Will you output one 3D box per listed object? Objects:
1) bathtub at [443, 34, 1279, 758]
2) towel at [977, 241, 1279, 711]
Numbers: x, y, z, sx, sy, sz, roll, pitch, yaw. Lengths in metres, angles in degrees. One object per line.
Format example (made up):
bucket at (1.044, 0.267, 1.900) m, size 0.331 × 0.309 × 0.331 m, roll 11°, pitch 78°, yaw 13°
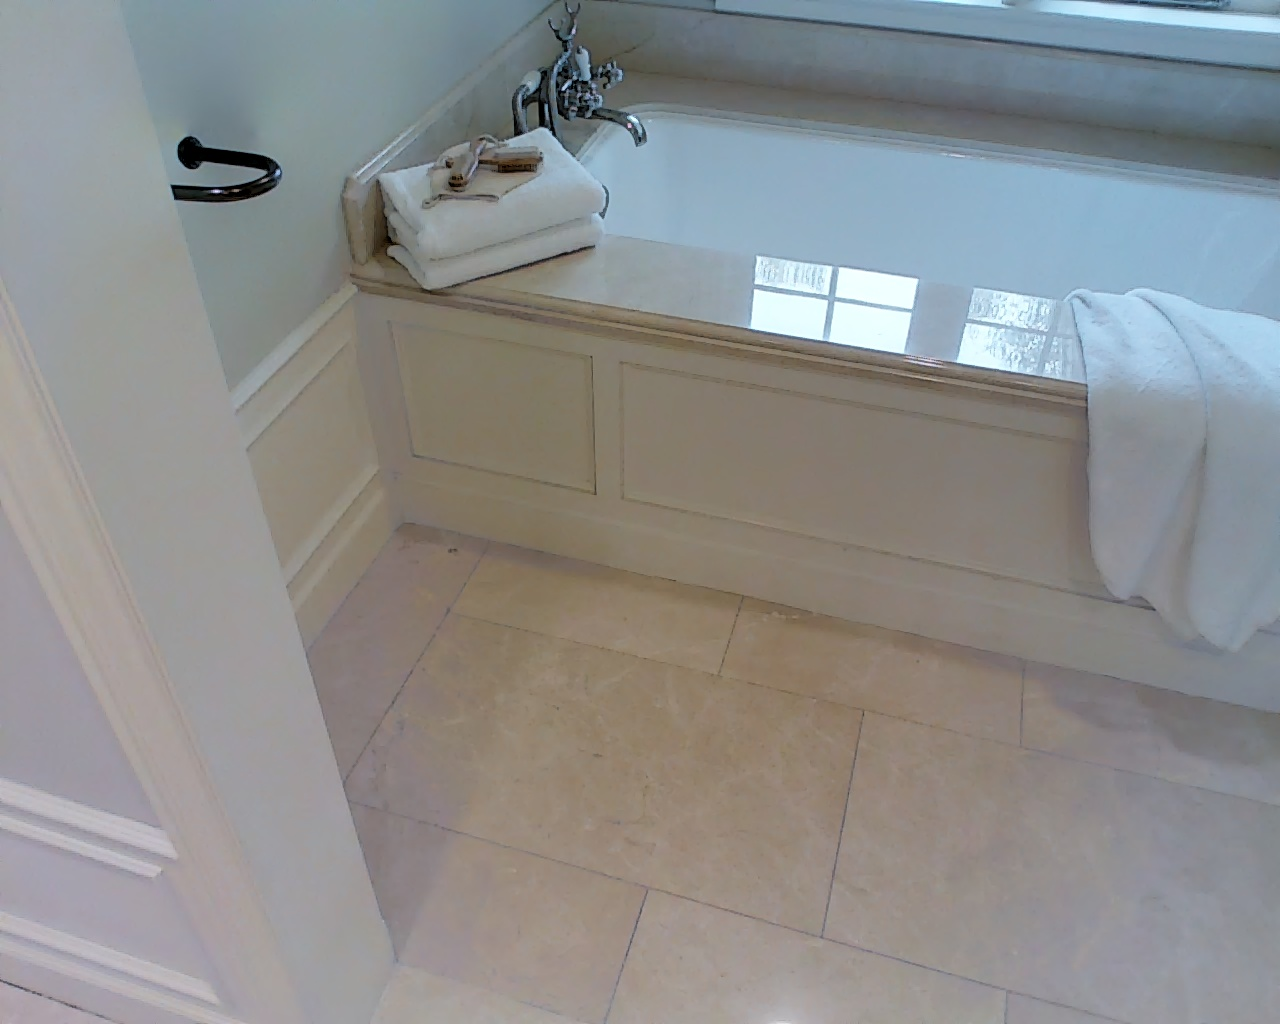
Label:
bathtub at (0.660, -0.370, 2.310) m, size 1.680 × 0.710 × 1.320 m, roll 11°, pitch 42°, yaw 11°
towel at (0.980, -0.060, 1.880) m, size 0.610 × 0.580 × 0.460 m, roll 12°, pitch 43°, yaw 13°
